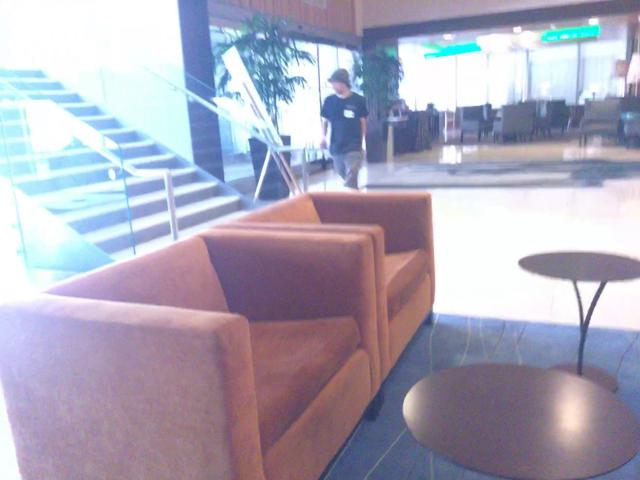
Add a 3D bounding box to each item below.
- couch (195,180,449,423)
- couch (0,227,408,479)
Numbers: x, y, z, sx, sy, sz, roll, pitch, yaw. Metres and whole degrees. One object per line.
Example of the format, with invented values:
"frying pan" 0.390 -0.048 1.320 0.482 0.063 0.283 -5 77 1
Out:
"couch" 0.090 0.180 2.780 0.820 0.830 1.040 3 12 25
"couch" -0.290 0.450 1.870 0.860 0.790 0.980 3 13 27
